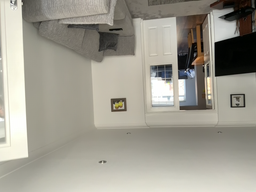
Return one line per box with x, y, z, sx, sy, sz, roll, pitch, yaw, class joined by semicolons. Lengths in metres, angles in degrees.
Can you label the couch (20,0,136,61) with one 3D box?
-0.500;-1.160;3.210;0.920;0.870;2.210;-3;-179;9;couch
